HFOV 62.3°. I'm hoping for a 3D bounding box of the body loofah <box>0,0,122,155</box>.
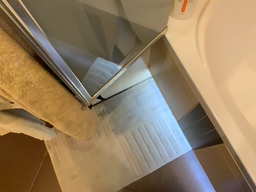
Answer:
[{"bbox_3d":[-0.270,-0.120,0.330,0.370,1.510,0.240,-22,73,-5],"label":"body loofah"}]
